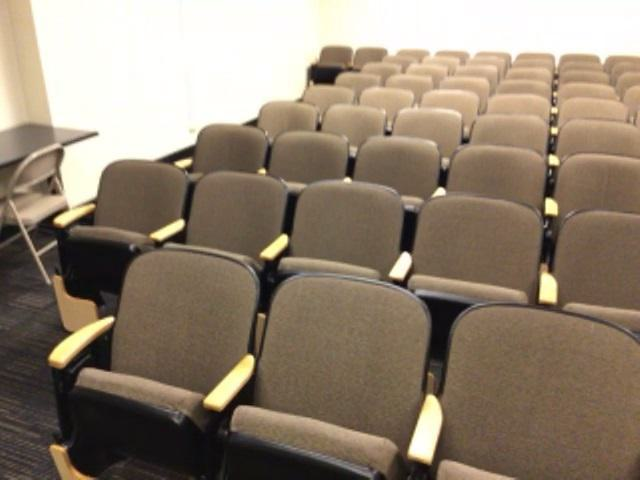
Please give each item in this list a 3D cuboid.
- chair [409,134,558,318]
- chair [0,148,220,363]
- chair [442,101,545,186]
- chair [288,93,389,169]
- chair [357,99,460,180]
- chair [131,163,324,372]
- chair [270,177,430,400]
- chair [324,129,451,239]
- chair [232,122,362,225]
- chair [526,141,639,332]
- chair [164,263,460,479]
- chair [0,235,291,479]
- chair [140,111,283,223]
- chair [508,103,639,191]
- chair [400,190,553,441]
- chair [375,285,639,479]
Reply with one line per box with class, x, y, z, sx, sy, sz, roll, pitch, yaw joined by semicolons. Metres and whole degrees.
chair;0.850;-0.100;3.060;0.620;0.770;0.540;7;25;16
chair;-0.970;0.040;2.800;0.720;0.790;0.580;7;25;16
chair;1.100;-0.630;3.680;0.550;0.380;0.530;7;25;16
chair;0.140;-0.770;4.000;0.550;0.370;0.580;7;25;16
chair;0.590;-0.680;3.810;0.570;0.370;0.560;7;25;16
chair;-0.370;0.090;2.620;0.630;0.690;0.580;7;25;16
chair;0.140;0.180;2.470;0.540;0.740;0.490;7;25;16
chair;0.380;-0.330;3.160;0.570;0.390;0.580;7;25;16
chair;-0.110;-0.400;3.310;0.580;0.400;0.550;7;25;16
chair;1.360;-0.040;2.890;0.510;0.770;0.510;7;25;16
chair;0.020;0.560;1.660;0.630;0.740;0.570;7;25;16
chair;-0.510;0.470;1.830;0.680;0.750;0.540;7;25;16
chair;-0.620;-0.460;3.470;0.630;0.490;0.540;7;25;16
chair;1.490;-0.580;3.460;0.650;0.340;0.610;7;25;16
chair;0.610;0.270;2.300;0.450;0.770;0.530;7;25;16
chair;0.530;0.630;1.490;0.680;0.760;0.580;7;25;16
